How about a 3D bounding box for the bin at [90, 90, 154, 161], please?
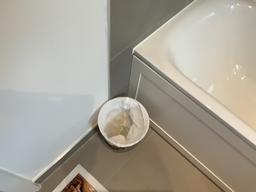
[{"bbox_3d":[-0.040,0.170,1.170,0.220,0.260,0.230,42,67,16],"label":"bin"}]
